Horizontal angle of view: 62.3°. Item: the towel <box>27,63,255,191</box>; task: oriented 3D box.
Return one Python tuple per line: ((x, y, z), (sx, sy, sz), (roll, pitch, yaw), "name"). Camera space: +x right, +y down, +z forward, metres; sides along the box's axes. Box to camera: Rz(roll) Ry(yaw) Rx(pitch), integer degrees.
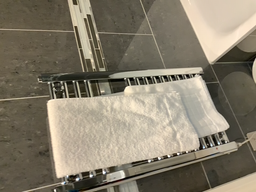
((0.100, 0.070, 0.780), (0.110, 0.820, 0.360), (-51, 50, 56), "towel")
